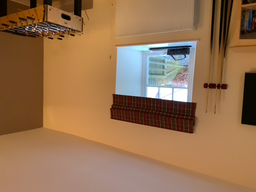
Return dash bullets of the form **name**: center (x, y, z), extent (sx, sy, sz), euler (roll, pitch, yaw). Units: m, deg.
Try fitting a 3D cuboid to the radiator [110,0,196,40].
- **radiator**: center (0.270, -1.200, 2.840), extent (1.250, 0.760, 0.100), euler (6, -174, 36)
